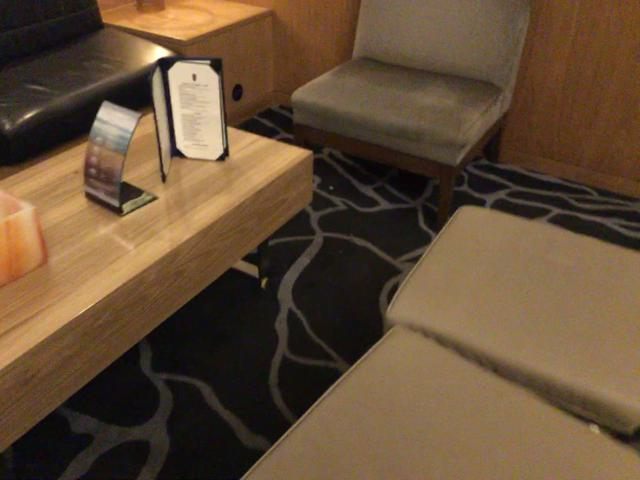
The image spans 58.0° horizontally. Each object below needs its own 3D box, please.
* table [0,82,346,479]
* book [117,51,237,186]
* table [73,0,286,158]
[{"bbox_3d":[-0.600,0.060,1.550,0.770,0.460,1.350,18,39,27],"label":"table"},{"bbox_3d":[-0.390,-0.340,1.600,0.240,0.280,0.190,-17,37,-22],"label":"book"},{"bbox_3d":[-0.660,-0.880,2.910,0.670,0.570,0.700,18,39,27],"label":"table"}]
